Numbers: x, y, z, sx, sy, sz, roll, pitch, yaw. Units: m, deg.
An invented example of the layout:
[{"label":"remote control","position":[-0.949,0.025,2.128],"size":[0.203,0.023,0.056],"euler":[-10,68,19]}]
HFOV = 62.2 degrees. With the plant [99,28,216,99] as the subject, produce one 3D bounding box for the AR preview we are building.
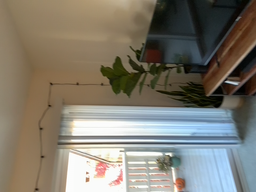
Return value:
[{"label":"plant","position":[0.250,-0.320,2.240],"size":[0.430,1.080,0.540],"euler":[104,166,-59]}]
